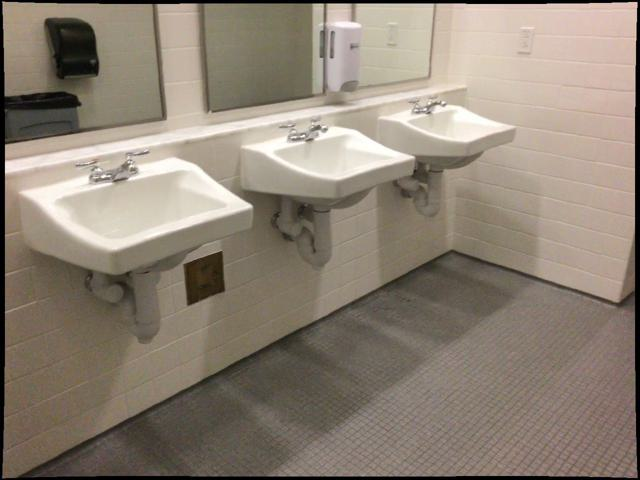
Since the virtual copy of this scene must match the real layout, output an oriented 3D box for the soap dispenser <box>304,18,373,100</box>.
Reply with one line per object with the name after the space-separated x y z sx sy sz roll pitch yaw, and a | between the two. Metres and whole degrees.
0.080 -0.772 2.440 0.170 0.301 0.240 21 32 40 | soap dispenser
